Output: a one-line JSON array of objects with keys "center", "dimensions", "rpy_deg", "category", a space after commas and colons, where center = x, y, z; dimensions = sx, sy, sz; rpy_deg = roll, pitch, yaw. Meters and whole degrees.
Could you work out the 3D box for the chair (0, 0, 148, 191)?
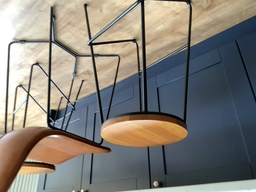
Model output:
[{"center": [-0.350, 0.080, 1.210], "dimensions": [0.610, 0.920, 0.640], "rpy_deg": [-23, 146, 35], "category": "chair"}]
